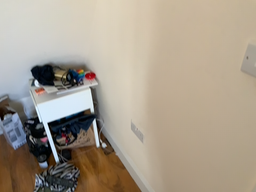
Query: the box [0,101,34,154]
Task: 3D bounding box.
[{"bbox_3d":[-0.960,0.260,1.760,0.230,0.340,0.180,-18,39,-23],"label":"box"}]
